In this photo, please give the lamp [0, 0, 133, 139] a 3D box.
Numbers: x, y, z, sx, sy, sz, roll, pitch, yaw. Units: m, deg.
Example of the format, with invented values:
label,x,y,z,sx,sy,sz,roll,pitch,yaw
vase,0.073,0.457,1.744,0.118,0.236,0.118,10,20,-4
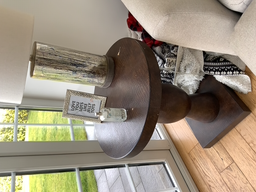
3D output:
label,x,y,z,sx,sy,sz,roll,pitch,yaw
lamp,-0.370,-0.090,0.850,0.430,0.580,0.320,-61,37,33
